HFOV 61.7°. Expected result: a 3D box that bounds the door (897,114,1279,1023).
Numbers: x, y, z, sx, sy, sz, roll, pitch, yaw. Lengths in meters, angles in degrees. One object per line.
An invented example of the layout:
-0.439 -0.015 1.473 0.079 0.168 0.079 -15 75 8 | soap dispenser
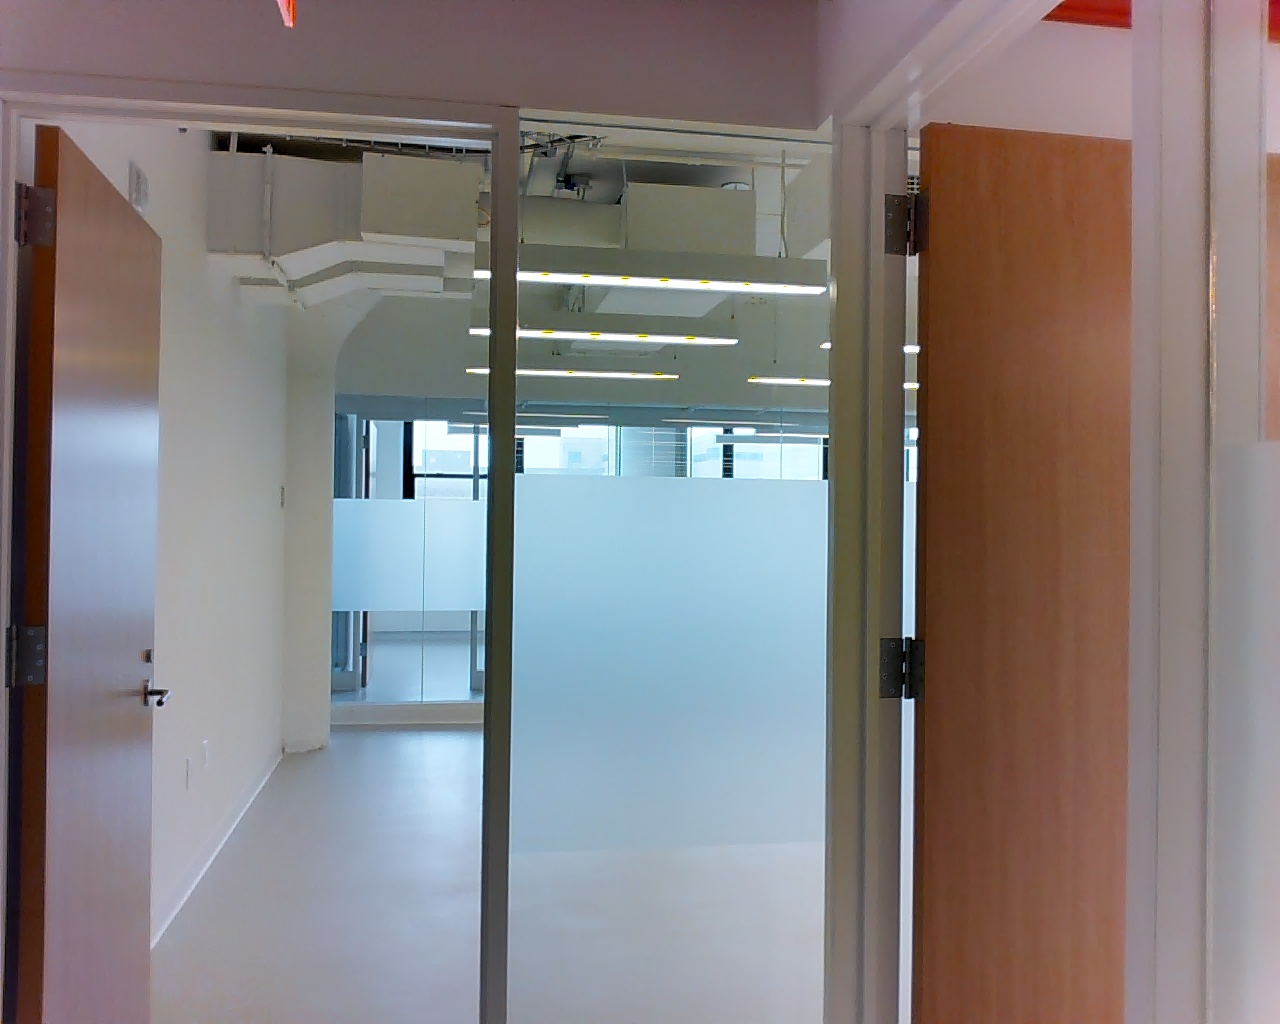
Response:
0.960 0.370 2.120 0.920 2.220 0.070 1 0 -11 | door
